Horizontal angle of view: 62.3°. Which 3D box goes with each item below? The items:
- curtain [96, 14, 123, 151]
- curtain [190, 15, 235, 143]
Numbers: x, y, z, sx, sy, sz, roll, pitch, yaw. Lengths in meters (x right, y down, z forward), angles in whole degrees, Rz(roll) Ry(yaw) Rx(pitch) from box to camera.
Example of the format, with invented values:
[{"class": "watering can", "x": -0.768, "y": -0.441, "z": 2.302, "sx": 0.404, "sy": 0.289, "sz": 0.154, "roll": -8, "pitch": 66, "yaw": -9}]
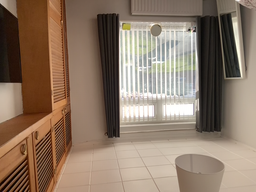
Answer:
[{"class": "curtain", "x": -0.280, "y": -0.190, "z": 3.210, "sx": 0.330, "sy": 1.970, "sz": 0.250, "roll": -2, "pitch": -176, "yaw": -10}, {"class": "curtain", "x": 1.340, "y": -0.260, "z": 3.390, "sx": 0.570, "sy": 1.920, "sz": 0.330, "roll": -2, "pitch": -176, "yaw": -7}]
